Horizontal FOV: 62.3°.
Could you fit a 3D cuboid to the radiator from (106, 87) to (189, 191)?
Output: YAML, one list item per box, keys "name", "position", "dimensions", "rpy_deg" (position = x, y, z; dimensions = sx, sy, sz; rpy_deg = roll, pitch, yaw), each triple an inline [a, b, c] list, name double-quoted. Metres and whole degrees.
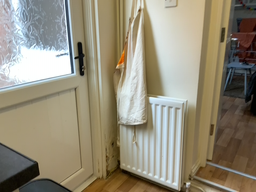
- name: "radiator"
  position: [0.140, 0.350, 1.640]
  dimensions: [0.590, 0.760, 0.170]
  rpy_deg: [8, 19, 32]
